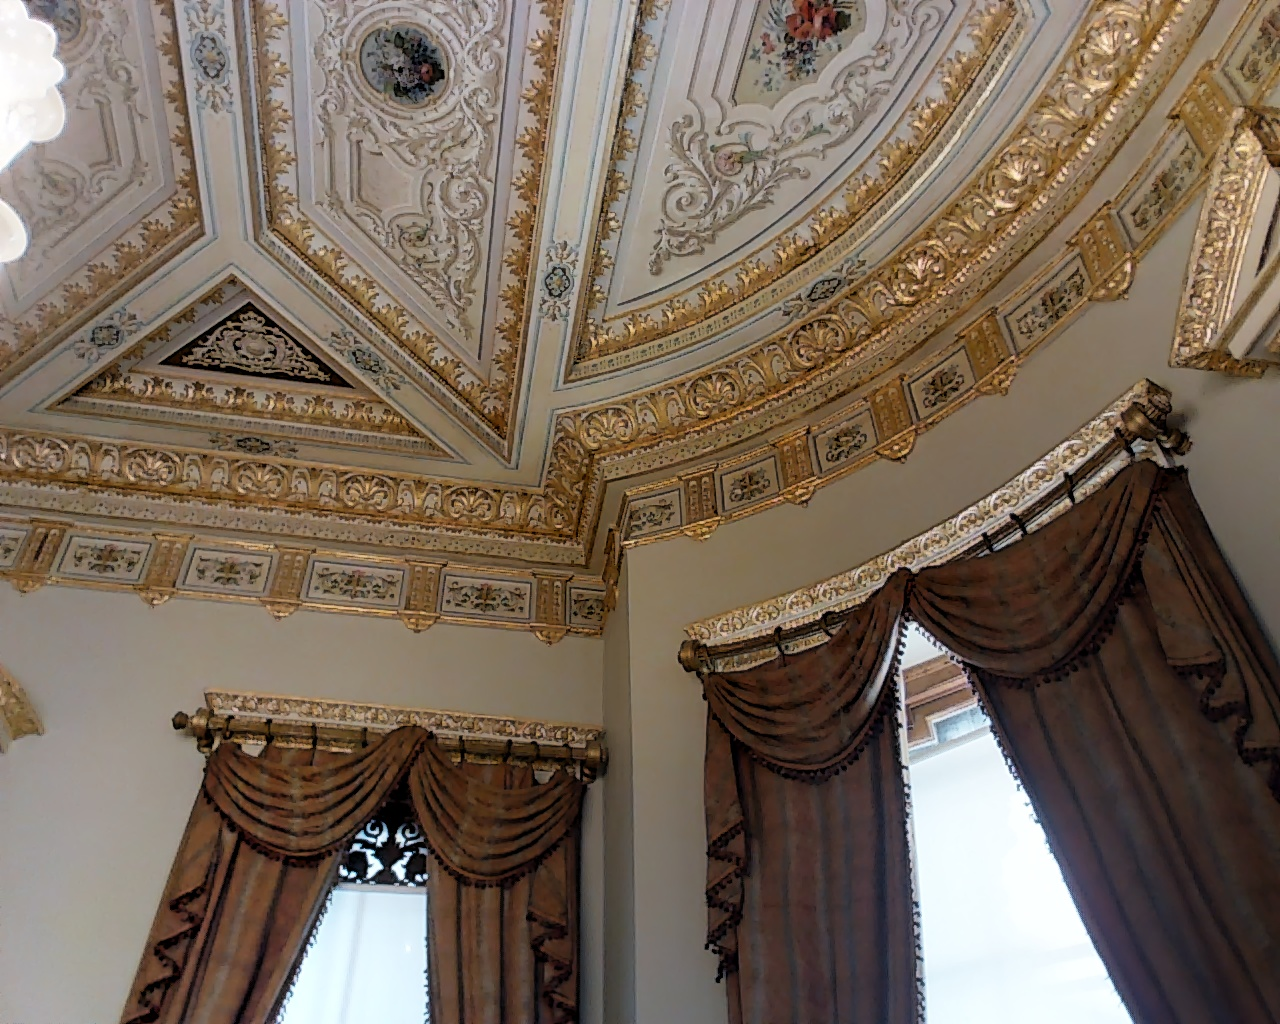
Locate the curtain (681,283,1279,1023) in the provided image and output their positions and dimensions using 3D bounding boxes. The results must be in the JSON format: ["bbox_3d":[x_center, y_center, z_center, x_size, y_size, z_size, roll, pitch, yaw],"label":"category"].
[{"bbox_3d":[1.039,1.301,2.900,2.150,4.012,0.240,-33,-51,32],"label":"curtain"}]

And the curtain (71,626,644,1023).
[{"bbox_3d":[-1.019,2.402,3.700,2.069,4.482,0.230,7,-42,-8],"label":"curtain"}]

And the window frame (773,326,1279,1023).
[{"bbox_3d":[1.309,1.261,3.180,0.500,3.872,1.530,32,-51,-31],"label":"window frame"}]
